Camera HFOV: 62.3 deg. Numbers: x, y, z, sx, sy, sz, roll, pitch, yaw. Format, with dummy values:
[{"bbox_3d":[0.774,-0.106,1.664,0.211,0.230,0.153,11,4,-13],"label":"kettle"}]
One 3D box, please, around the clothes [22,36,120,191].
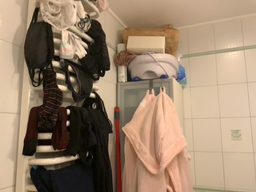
[{"bbox_3d":[-0.210,0.330,0.900,0.220,1.040,0.380,-3,-8,20],"label":"clothes"}]
